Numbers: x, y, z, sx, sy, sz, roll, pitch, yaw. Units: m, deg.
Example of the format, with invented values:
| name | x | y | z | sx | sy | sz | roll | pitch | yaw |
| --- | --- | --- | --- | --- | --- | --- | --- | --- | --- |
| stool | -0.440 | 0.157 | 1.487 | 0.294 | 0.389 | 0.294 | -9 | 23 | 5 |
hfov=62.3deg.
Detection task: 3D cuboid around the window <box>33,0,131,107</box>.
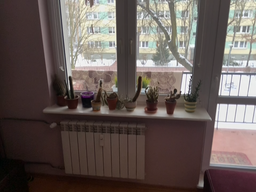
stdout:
| name | x | y | z | sx | sy | sz | roll | pitch | yaw |
| --- | --- | --- | --- | --- | --- | --- | --- | --- | --- |
| window | -0.390 | -0.600 | 1.910 | 0.820 | 1.410 | 0.140 | 1 | 18 | 5 |
